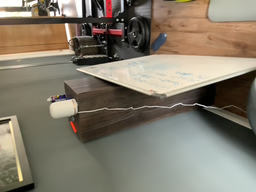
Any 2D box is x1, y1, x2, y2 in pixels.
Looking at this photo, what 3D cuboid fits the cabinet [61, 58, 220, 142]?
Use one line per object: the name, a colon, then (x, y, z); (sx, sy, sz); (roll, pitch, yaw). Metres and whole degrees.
cabinet: (0.140, -0.040, 1.570); (0.340, 1.140, 0.350); (27, 123, 56)
